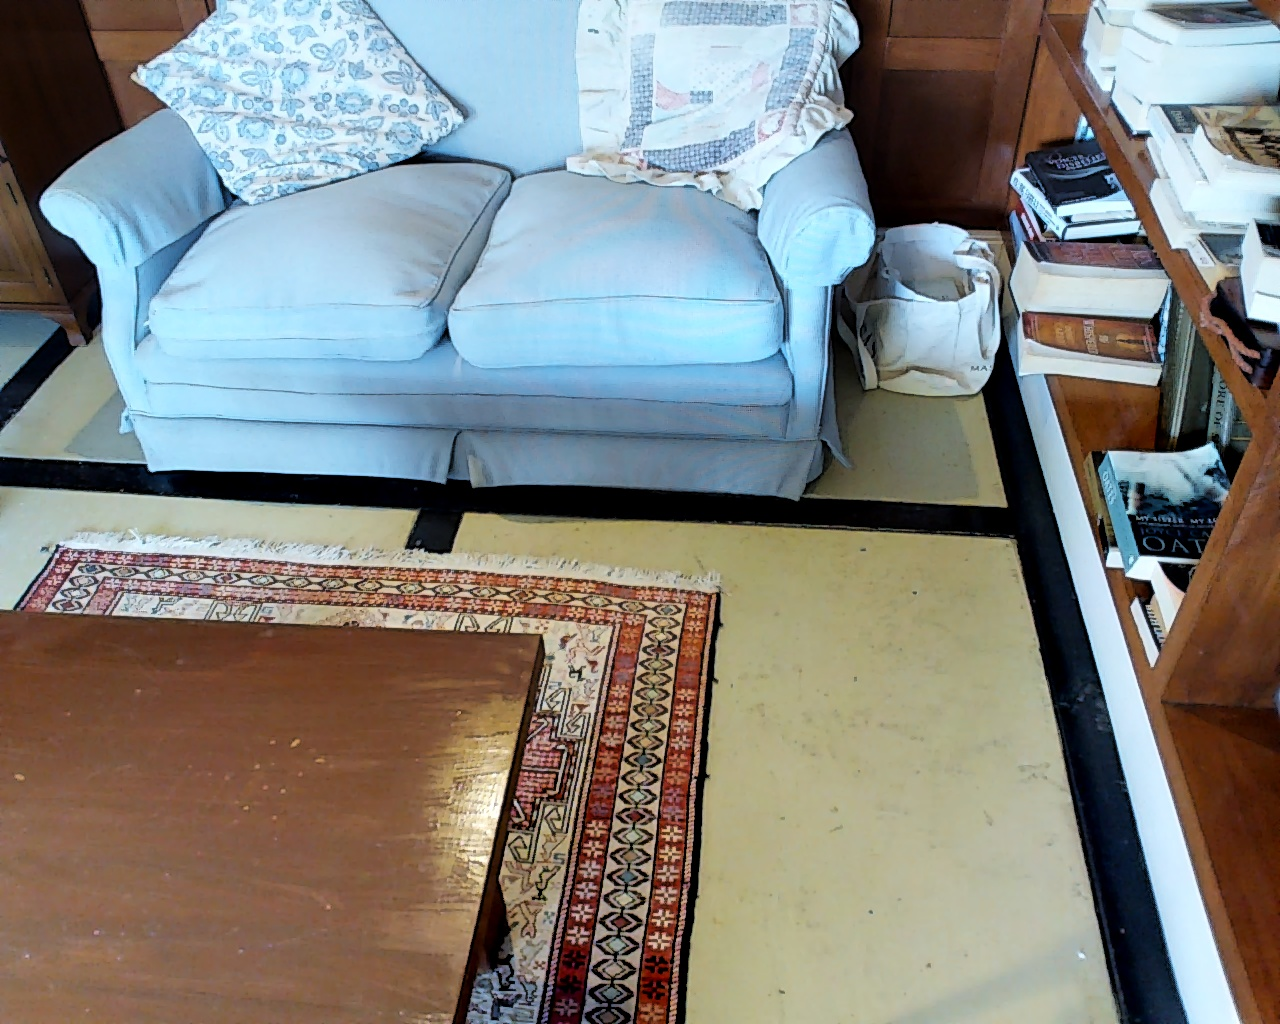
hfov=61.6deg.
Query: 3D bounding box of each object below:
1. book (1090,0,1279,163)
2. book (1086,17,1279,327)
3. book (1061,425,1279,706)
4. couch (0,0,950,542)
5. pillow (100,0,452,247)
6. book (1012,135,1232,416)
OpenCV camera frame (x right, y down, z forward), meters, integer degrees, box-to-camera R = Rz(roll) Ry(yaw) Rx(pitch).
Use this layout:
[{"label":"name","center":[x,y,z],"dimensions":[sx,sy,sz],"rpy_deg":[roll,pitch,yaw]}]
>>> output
[{"label":"book","center":[0.900,-0.670,1.650],"dimensions":[0.310,0.170,0.240],"rpy_deg":[2,41,5]},{"label":"book","center":[0.820,-0.470,1.430],"dimensions":[0.280,0.210,0.500],"rpy_deg":[2,41,5]},{"label":"book","center":[0.760,0.060,1.570],"dimensions":[0.160,0.120,0.460],"rpy_deg":[2,41,5]},{"label":"couch","center":[-0.270,-0.590,2.060],"dimensions":[1.470,0.810,0.910],"rpy_deg":[3,42,6]},{"label":"pillow","center":[-0.700,-0.820,2.050],"dimensions":[0.500,0.380,0.460],"rpy_deg":[-15,50,-30]},{"label":"book","center":[0.890,-0.480,2.060],"dimensions":[0.230,0.210,0.690],"rpy_deg":[5,42,8]}]
